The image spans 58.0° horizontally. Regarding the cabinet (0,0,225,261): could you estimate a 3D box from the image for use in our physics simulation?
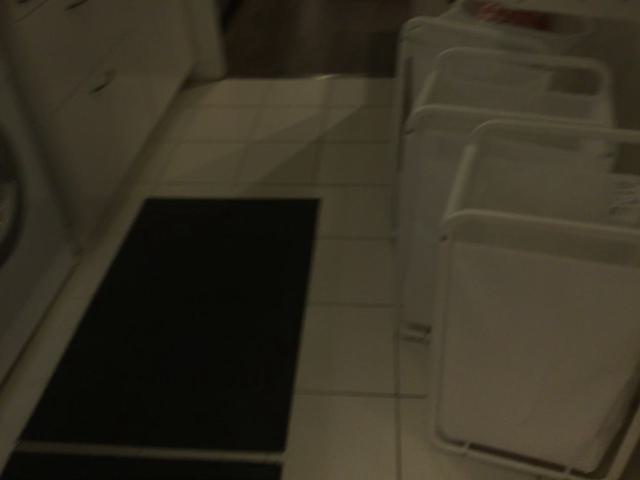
[{"bbox_3d":[-0.640,-0.650,2.070,0.220,0.790,1.270,0,41,6],"label":"cabinet"}]
